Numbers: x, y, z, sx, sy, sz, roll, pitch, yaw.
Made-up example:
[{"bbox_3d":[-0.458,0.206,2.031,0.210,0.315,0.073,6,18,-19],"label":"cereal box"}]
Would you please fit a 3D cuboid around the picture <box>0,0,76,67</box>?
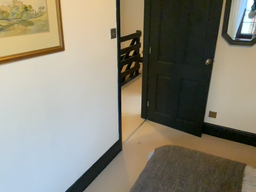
[{"bbox_3d":[-0.570,-0.460,1.010,0.050,0.590,0.800,13,27,26],"label":"picture"}]
